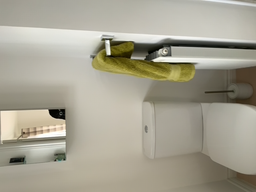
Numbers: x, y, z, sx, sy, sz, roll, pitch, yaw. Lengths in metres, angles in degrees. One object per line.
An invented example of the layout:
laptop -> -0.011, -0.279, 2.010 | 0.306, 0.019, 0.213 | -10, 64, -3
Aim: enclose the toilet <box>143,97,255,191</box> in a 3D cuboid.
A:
toilet -> 0.560, 0.220, 1.220 | 0.650, 0.760, 0.400 | 180, 89, -73
